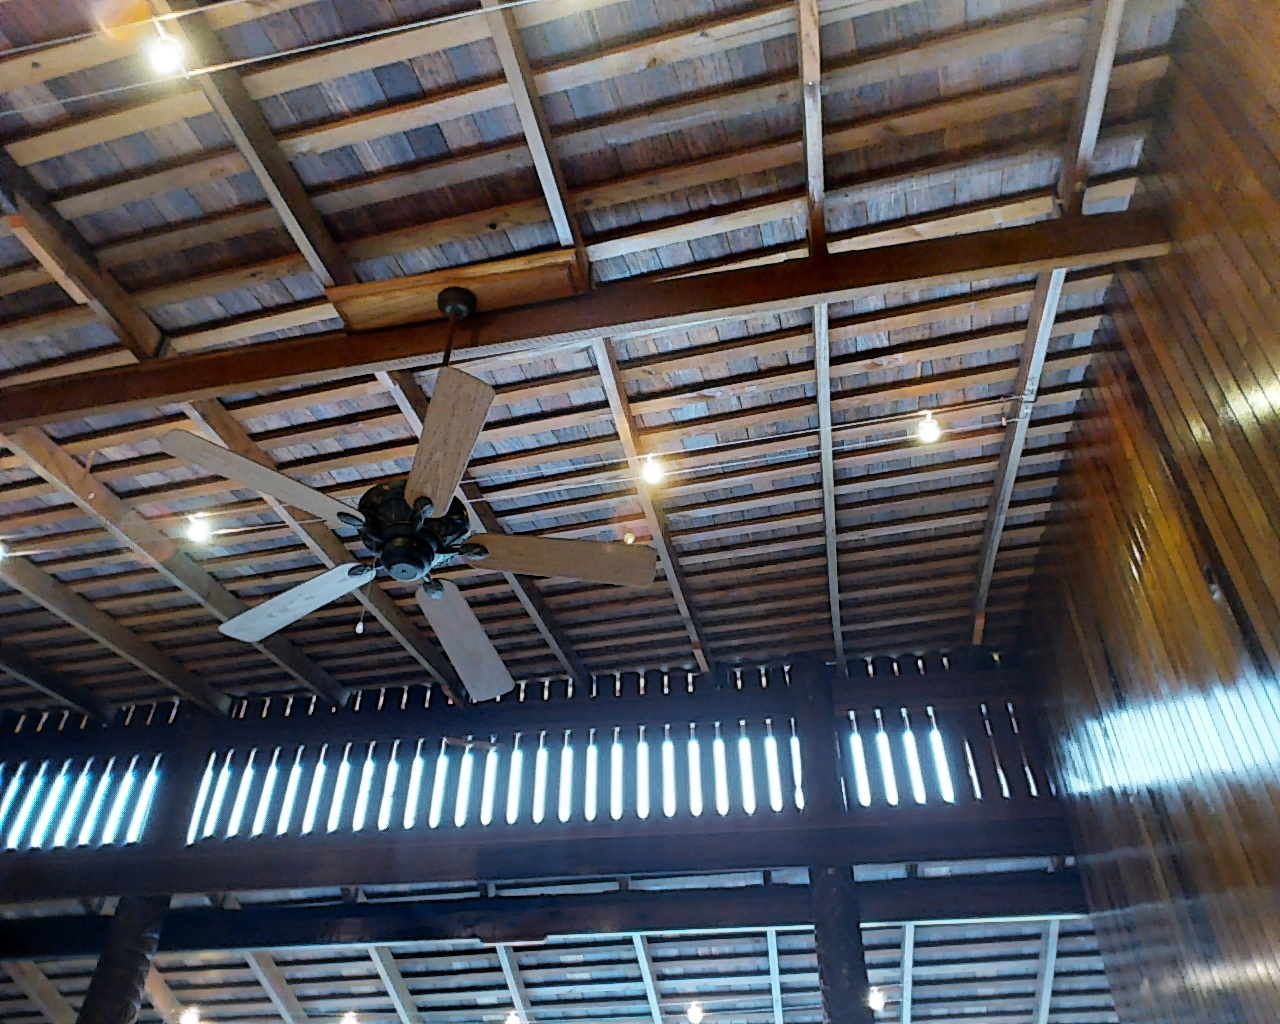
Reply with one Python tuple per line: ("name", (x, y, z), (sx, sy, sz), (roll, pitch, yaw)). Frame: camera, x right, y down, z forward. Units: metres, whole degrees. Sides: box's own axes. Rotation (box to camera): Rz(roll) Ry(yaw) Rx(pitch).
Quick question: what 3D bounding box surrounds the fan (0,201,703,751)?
("fan", (-0.620, -0.190, 3.180), (1.430, 0.990, 1.380), (-8, 24, 9))
